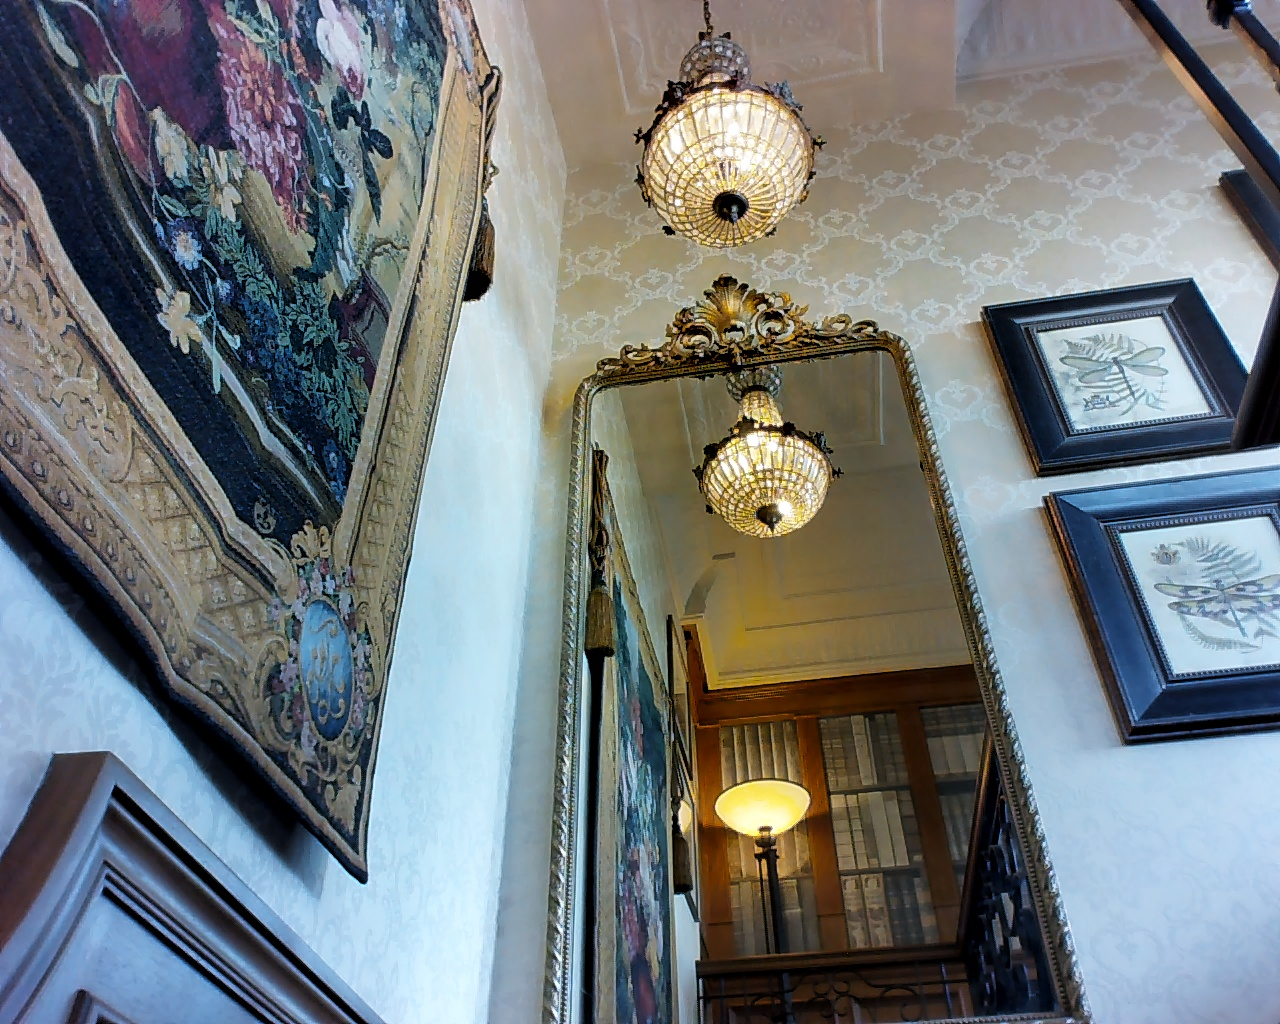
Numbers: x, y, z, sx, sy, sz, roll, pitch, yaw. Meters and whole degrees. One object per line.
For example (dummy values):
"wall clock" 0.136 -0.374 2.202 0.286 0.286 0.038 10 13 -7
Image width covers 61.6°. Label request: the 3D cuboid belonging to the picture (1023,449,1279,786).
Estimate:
"picture" 1.100 0.160 1.960 0.620 0.660 0.070 -7 -43 8
